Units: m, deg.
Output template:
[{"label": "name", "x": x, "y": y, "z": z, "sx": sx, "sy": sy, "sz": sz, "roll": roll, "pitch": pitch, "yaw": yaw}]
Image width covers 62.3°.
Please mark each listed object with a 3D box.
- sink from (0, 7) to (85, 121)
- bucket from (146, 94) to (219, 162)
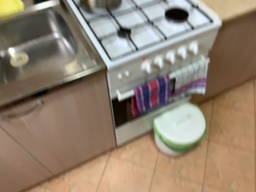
[{"label": "sink", "x": -0.420, "y": -0.150, "z": 0.910, "sx": 0.330, "sy": 0.210, "sz": 0.350, "roll": -24, "pitch": 58, "yaw": -15}, {"label": "bucket", "x": 0.330, "y": 0.210, "z": 1.360, "sx": 0.360, "sy": 0.290, "sz": 0.190, "roll": -24, "pitch": 58, "yaw": -15}]
